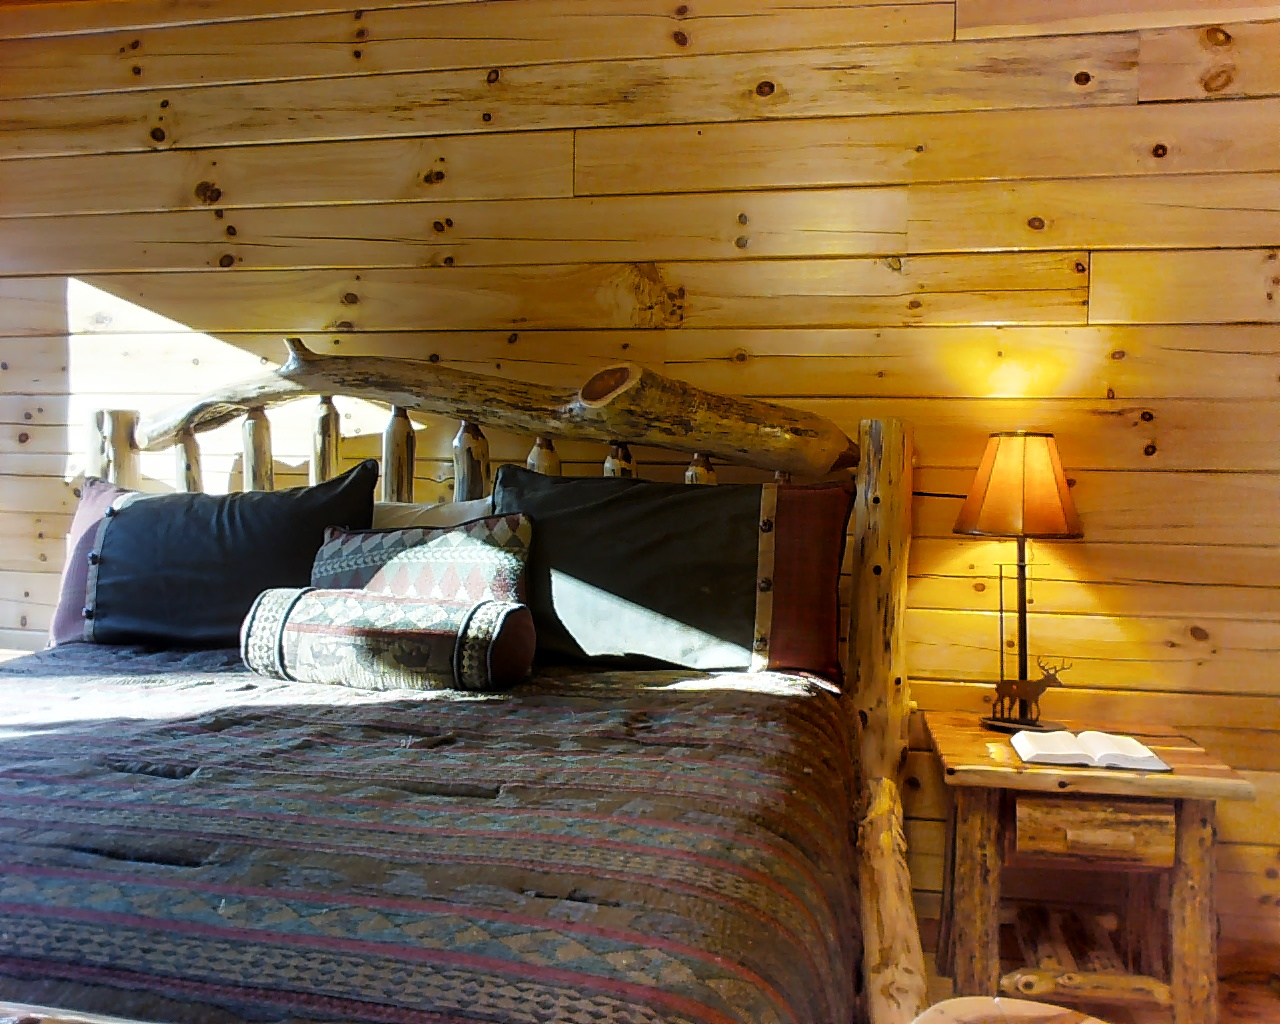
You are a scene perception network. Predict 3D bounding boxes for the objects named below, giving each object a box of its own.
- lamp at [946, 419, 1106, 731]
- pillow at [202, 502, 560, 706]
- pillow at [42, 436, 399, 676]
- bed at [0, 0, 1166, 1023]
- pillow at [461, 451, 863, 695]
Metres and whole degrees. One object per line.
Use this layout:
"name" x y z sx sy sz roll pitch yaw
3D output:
"lamp" 0.900 0.130 2.560 0.300 0.680 0.370 1 2 13
"pillow" -0.520 0.170 2.290 0.610 0.360 0.470 1 2 8
"pillow" -0.980 0.090 2.600 0.710 0.520 0.320 -1 6 -2
"bed" -0.640 0.330 1.860 2.229 1.561 2.500 1 2 13
"pillow" 0.060 0.120 2.420 0.840 0.470 0.280 1 13 9
